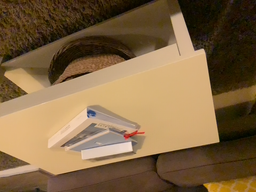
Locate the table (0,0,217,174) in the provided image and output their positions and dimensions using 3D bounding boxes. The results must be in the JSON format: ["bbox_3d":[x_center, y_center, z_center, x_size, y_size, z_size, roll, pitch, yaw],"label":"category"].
[{"bbox_3d":[-0.150,0.000,1.100,1.010,0.460,0.670,-16,142,15],"label":"table"}]
